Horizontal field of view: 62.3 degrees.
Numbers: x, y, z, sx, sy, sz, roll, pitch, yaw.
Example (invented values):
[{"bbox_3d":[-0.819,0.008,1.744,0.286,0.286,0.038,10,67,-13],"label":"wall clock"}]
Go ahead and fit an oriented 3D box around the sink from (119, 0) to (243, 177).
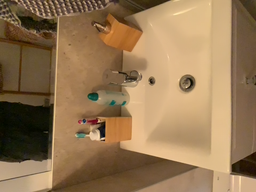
[{"bbox_3d":[0.160,-0.060,0.730,0.390,0.130,0.540,0,87,43],"label":"sink"}]
